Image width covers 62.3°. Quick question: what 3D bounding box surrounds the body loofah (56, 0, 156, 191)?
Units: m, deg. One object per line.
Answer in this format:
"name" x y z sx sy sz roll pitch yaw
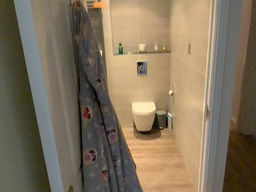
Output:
"body loofah" -0.050 0.230 1.150 0.350 1.320 0.420 -2 19 1
